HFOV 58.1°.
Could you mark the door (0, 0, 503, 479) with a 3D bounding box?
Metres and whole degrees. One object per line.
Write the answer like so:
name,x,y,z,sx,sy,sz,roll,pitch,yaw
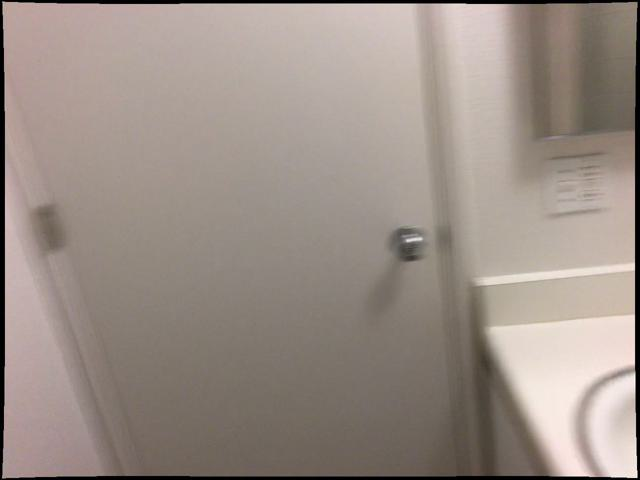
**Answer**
door,-0.110,0.241,1.310,0.968,1.604,0.100,-8,19,4
